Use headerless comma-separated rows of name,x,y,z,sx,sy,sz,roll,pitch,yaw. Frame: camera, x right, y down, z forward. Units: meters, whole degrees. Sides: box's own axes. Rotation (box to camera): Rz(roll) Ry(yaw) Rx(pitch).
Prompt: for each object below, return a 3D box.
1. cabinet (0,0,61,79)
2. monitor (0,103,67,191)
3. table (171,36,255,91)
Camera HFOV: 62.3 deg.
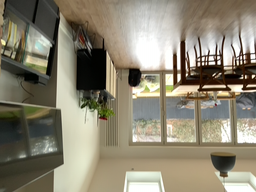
cabinet,-1.030,-0.670,2.040,0.400,0.860,0.980,-1,175,2
monitor,-0.810,0.400,1.920,0.070,0.630,1.140,-1,180,6
table,1.640,-0.540,3.890,1.550,0.780,0.870,-1,175,4
